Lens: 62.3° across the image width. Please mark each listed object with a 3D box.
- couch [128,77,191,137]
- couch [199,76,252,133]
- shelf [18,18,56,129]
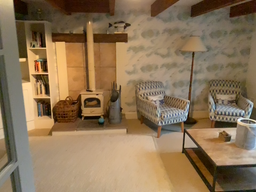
[{"bbox_3d":[0.550,0.150,4.070,0.720,0.830,0.970,-7,16,-27],"label":"couch"},{"bbox_3d":[1.850,0.110,4.190,0.730,0.870,0.900,4,14,14],"label":"couch"},{"bbox_3d":[-1.680,-0.400,4.000,0.360,1.970,0.480,-2,14,-7],"label":"shelf"}]
